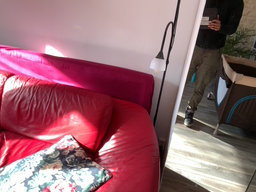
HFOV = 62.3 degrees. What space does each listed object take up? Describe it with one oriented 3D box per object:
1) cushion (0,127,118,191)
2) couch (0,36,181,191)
[{"bbox_3d":[-0.430,0.450,1.170,0.570,0.170,0.490,18,26,21],"label":"cushion"},{"bbox_3d":[-0.960,0.160,1.510,2.440,0.840,1.320,13,24,10],"label":"couch"}]
